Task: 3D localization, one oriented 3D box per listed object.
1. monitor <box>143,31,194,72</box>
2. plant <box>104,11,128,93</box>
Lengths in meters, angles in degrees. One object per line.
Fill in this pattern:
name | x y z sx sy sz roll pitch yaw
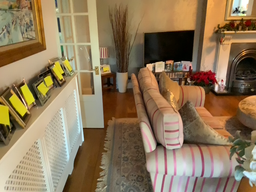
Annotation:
monitor | 0.820 -0.900 4.250 1.110 0.710 0.050 -9 22 -19
plant | -0.230 -0.870 4.330 0.410 1.610 0.280 -4 21 -7
